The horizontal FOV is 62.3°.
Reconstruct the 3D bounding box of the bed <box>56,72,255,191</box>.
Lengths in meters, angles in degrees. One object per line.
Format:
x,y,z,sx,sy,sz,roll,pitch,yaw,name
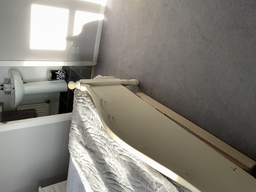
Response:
0.010,1.060,1.830,1.550,0.670,2.090,37,123,43,bed
